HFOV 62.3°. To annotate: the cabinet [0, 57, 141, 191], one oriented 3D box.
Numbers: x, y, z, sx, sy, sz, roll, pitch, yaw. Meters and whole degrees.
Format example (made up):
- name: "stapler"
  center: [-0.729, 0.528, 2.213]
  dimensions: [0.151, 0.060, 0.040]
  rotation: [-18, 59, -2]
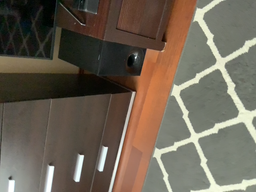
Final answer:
- name: "cabinet"
  center: [-0.600, 0.320, 1.290]
  dimensions: [0.640, 1.040, 0.950]
  rotation: [27, 110, 36]
